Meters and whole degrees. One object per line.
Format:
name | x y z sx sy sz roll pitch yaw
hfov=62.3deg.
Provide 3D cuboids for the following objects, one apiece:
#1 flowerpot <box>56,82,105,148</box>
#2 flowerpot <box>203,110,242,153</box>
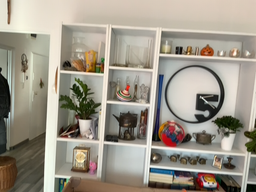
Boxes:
flowerpot | -0.440 0.150 2.050 0.320 0.550 0.420 5 5 4
flowerpot | 0.840 0.310 1.910 0.230 0.320 0.210 5 5 5
